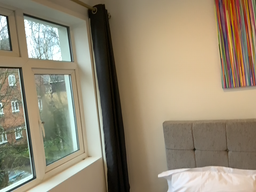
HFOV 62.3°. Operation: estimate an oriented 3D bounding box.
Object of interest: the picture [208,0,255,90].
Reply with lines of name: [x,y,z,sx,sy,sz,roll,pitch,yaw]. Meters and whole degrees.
picture: [1.240,-0.510,1.500,1.210,0.830,0.040,-5,3,27]
